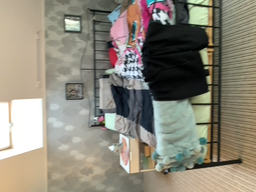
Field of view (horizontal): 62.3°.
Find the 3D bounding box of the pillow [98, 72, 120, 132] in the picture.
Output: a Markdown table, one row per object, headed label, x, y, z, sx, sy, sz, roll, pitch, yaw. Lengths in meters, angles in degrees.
| label | x | y | z | sx | sy | sz | roll | pitch | yaw |
| --- | --- | --- | --- | --- | --- | --- | --- | --- | --- |
| pillow | -0.290 | 0.070 | 3.180 | 0.370 | 0.240 | 0.840 | -171 | 80 | -71 |
